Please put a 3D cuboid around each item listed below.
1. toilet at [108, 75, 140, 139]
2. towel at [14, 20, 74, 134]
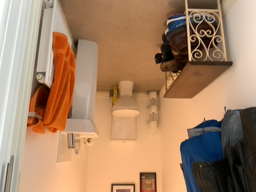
[{"bbox_3d":[-0.070,0.190,2.960,0.380,0.770,0.670,1,166,-3],"label":"toilet"},{"bbox_3d":[-0.420,-0.060,1.170,0.120,0.500,0.470,1,166,-2],"label":"towel"}]
